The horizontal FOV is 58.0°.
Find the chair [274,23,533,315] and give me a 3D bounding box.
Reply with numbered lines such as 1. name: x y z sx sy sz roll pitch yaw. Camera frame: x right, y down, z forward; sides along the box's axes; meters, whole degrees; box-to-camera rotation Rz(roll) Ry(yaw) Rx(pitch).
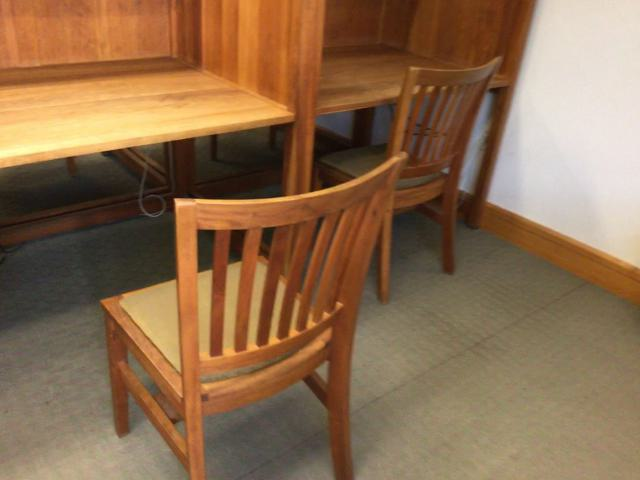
1. chair: 0.300 -0.310 2.370 0.620 0.950 0.590 -9 31 -39

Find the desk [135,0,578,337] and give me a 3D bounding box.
1. desk: 0.110 -0.640 2.540 1.410 1.460 1.190 -9 23 -39

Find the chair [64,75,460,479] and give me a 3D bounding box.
1. chair: -0.220 0.170 1.420 0.580 0.960 0.650 -9 31 -39

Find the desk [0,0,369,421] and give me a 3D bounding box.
1. desk: -0.820 -0.440 1.920 1.440 1.510 1.080 -9 31 -39
